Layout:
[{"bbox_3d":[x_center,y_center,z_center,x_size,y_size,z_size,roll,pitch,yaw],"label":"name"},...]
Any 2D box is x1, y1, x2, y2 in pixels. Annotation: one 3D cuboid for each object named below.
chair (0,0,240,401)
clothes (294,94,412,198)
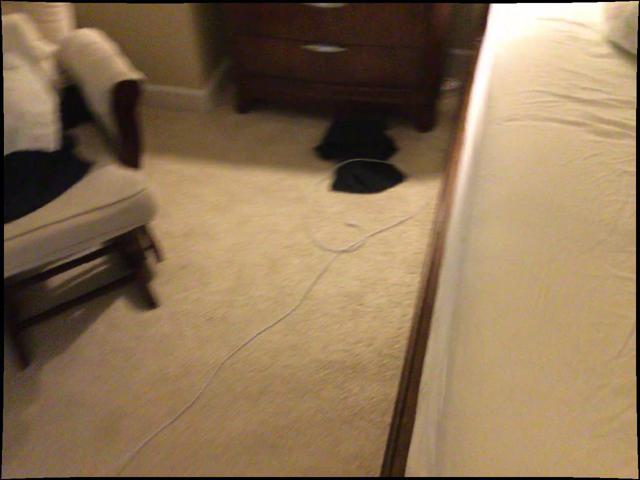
[{"bbox_3d":[-0.838,-0.321,1.530,0.779,0.941,0.970,-25,51,-18],"label":"chair"},{"bbox_3d":[0.130,-0.351,2.080,0.339,0.100,0.410,9,49,12],"label":"clothes"}]
